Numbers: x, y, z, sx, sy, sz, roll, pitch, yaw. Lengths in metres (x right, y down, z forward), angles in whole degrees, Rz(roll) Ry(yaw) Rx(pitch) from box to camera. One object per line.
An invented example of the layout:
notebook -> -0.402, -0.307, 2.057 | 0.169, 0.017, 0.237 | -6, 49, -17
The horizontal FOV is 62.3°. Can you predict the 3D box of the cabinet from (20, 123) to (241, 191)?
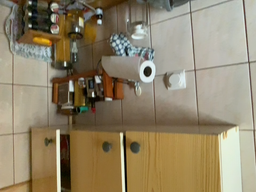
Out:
cabinet -> -0.060, 0.490, 0.930 | 0.960, 0.710, 0.330 | -5, 176, 35
